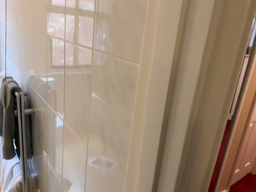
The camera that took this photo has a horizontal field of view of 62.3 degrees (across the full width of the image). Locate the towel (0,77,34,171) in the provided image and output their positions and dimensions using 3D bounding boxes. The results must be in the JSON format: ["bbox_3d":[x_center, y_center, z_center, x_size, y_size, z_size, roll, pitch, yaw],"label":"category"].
[{"bbox_3d":[-0.700,0.140,1.280,0.140,0.420,0.400,-7,23,-36],"label":"towel"}]
